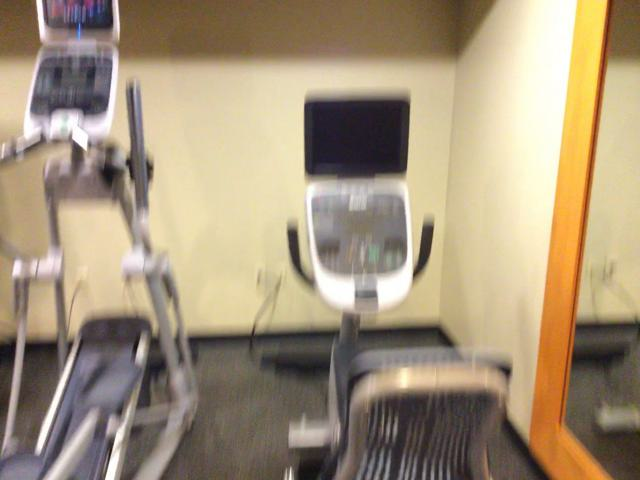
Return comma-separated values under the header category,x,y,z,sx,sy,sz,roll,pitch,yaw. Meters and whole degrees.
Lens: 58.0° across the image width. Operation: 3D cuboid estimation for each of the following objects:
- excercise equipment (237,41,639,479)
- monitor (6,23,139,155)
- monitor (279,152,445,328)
category,x,y,z,sx,sy,sz,roll,pitch,yaw
excercise equipment,0.170,0.250,1.760,0.720,1.500,1.500,-2,14,-5
monitor,-0.920,-0.560,2.170,0.310,0.360,0.060,35,0,-16
monitor,0.140,0.000,1.940,0.360,0.460,0.080,33,-2,-10
